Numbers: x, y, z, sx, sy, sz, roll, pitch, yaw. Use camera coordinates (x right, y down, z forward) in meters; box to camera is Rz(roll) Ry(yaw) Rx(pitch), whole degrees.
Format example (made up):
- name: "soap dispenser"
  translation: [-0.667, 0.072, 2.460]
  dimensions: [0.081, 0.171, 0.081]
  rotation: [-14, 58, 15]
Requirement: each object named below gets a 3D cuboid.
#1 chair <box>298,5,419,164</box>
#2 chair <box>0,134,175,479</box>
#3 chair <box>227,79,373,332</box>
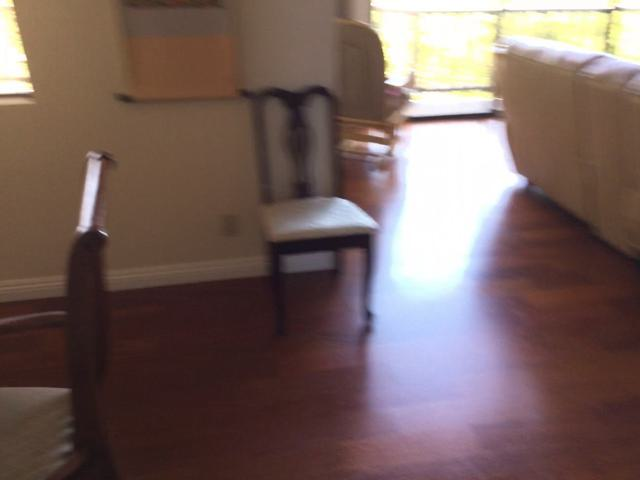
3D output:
- name: "chair"
  translation: [0.310, -1.230, 4.450]
  dimensions: [0.700, 1.020, 0.850]
  rotation: [8, 26, 16]
- name: "chair"
  translation: [-0.700, 0.390, 1.260]
  dimensions: [0.670, 1.040, 0.680]
  rotation: [-7, 26, -15]
- name: "chair"
  translation: [-0.100, -0.170, 2.480]
  dimensions: [0.460, 0.910, 0.530]
  rotation: [-7, 26, -15]
